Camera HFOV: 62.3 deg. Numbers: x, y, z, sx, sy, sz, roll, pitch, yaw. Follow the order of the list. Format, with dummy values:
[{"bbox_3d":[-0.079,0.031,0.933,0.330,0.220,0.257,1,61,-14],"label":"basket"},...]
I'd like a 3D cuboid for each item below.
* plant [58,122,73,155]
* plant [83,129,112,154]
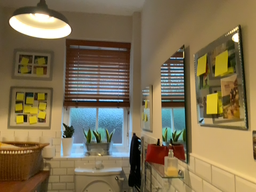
[{"bbox_3d":[-0.720,0.480,2.450,0.110,0.350,0.190,1,-5,-5],"label":"plant"},{"bbox_3d":[-0.360,0.530,2.510,0.320,0.270,0.220,2,-5,-7],"label":"plant"}]
